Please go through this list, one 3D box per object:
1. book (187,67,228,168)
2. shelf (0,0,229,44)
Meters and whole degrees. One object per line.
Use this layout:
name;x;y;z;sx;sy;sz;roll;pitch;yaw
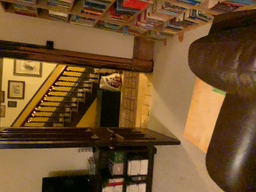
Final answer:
book;0.580;0.140;1.600;0.400;0.070;0.670;-172;86;-84
shelf;-0.220;-0.960;2.150;1.180;2.030;0.360;-167;82;-69
